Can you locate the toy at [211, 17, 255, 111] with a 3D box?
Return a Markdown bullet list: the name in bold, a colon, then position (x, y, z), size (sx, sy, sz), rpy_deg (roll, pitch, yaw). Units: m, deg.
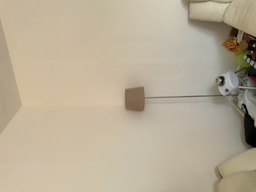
- **toy**: position (1.320, -0.380, 2.140), size (0.900, 0.470, 0.710), rpy_deg (-98, 8, -65)
